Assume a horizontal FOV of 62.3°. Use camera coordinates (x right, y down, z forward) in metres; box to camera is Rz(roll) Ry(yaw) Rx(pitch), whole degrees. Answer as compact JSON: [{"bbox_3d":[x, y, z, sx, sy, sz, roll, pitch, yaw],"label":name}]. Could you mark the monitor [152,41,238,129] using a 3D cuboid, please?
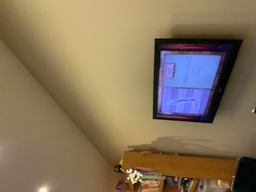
[{"bbox_3d":[0.470,-0.030,1.740,0.930,0.530,0.040,85,-169,-46],"label":"monitor"}]
